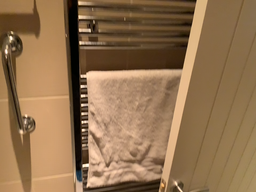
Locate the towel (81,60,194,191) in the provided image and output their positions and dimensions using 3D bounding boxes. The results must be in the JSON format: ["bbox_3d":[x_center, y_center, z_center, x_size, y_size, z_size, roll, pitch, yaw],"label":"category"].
[{"bbox_3d":[0.020,0.140,0.880,0.390,0.560,0.090,-5,30,-17],"label":"towel"}]
